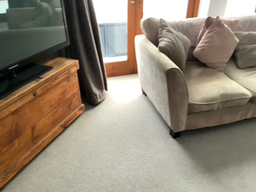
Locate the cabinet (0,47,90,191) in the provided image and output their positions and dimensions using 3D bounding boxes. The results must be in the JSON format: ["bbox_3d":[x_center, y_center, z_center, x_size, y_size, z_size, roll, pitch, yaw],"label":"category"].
[{"bbox_3d":[-0.800,0.090,1.690,0.400,0.580,1.140,13,34,19],"label":"cabinet"}]
